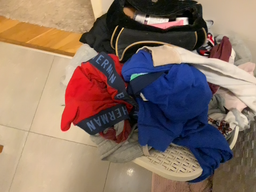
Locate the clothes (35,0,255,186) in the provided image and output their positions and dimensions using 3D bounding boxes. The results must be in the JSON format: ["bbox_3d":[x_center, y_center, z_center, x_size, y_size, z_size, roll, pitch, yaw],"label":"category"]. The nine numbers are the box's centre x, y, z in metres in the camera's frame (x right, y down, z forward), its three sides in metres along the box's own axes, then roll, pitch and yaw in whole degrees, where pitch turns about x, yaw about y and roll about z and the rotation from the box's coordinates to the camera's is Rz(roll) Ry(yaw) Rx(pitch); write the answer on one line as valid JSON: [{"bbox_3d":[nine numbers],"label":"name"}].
[{"bbox_3d":[0.140,0.030,0.770,0.570,0.680,0.390,14,76,2],"label":"clothes"}]
